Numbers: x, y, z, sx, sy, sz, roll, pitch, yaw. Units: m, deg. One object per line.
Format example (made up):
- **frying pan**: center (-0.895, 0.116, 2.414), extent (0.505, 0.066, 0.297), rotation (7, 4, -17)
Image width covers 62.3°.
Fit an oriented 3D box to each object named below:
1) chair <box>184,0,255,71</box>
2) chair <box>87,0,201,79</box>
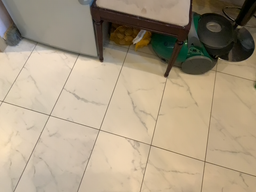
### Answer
- **chair**: center (0.720, -0.560, 1.260), extent (0.420, 0.640, 0.410), rotation (-29, 70, -16)
- **chair**: center (0.100, -0.550, 1.090), extent (0.470, 0.820, 0.480), rotation (15, 65, 3)
